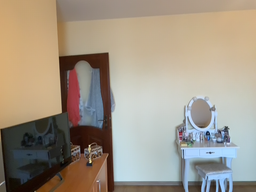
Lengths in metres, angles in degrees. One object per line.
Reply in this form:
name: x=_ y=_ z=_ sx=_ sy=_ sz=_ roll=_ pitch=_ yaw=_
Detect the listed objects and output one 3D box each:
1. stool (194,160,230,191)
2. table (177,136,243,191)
stool: x=1.110 y=1.130 z=2.820 sx=0.360 sy=0.440 sz=0.270 roll=-2 pitch=3 yaw=-6
table: x=1.130 y=0.980 z=3.010 sx=0.760 sy=0.710 sz=0.440 roll=-2 pitch=3 yaw=4
